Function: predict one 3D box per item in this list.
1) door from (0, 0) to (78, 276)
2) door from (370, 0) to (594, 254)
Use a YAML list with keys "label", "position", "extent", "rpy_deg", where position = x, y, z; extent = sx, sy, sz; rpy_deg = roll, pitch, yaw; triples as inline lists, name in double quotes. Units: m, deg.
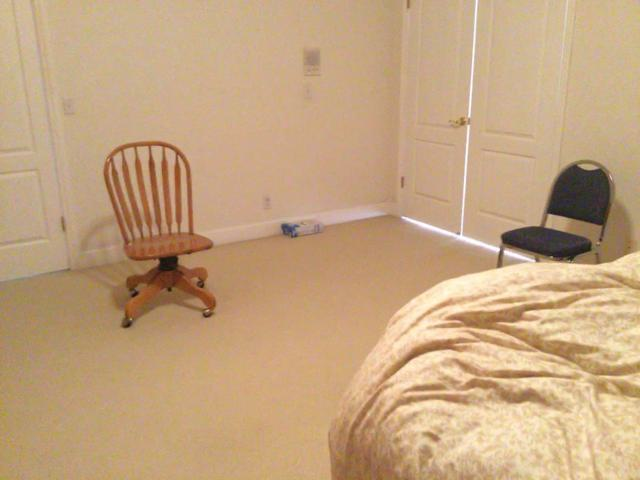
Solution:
- label: "door"
  position: [-2.090, -0.740, 3.330]
  extent: [1.250, 2.010, 0.120]
  rpy_deg: [-4, 19, -32]
- label: "door"
  position: [1.020, -0.960, 4.120]
  extent: [0.250, 1.730, 1.580]
  rpy_deg: [-12, 23, -35]
